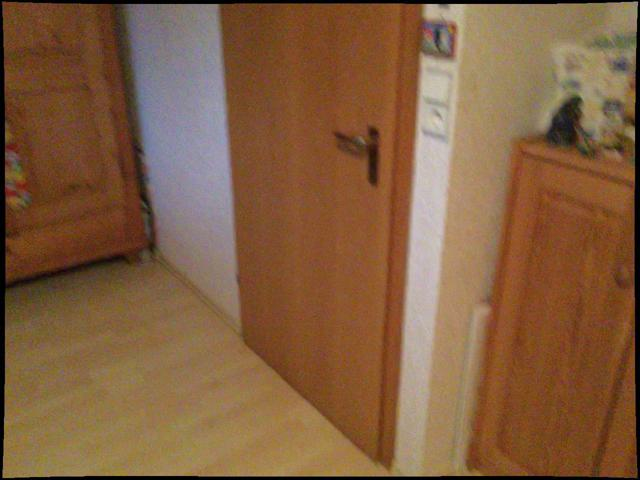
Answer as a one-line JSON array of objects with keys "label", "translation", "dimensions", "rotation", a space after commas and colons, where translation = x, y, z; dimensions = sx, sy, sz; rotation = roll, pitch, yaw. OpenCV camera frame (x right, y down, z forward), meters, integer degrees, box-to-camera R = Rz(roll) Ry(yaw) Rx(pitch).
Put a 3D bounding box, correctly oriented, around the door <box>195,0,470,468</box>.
[{"label": "door", "translation": [-0.060, -0.420, 1.810], "dimensions": [0.110, 2.022, 1.160], "rotation": [-17, 30, -33]}]
